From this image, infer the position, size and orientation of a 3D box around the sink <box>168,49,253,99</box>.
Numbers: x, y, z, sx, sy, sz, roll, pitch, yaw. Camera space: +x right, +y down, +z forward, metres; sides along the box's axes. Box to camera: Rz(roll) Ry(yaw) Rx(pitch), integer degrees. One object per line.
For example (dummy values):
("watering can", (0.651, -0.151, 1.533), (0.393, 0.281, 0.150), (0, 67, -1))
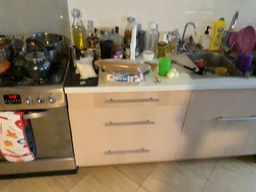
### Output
("sink", (0.590, -0.190, 1.630), (0.430, 0.150, 0.500), (-1, 35, -7))

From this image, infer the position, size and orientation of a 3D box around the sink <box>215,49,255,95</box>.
("sink", (1.020, -0.210, 1.670), (0.430, 0.130, 0.500), (-1, 35, -7))
